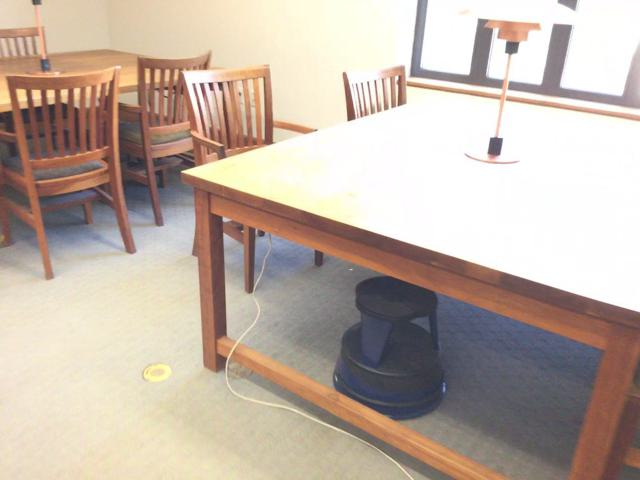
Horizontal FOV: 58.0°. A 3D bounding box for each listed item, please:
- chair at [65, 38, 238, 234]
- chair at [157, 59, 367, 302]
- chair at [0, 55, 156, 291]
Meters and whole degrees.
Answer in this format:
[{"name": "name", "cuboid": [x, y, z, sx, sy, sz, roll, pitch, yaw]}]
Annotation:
[{"name": "chair", "cuboid": [-0.950, -0.640, 3.360, 0.670, 0.960, 0.640, 16, 23, 33]}, {"name": "chair", "cuboid": [-0.270, -0.340, 2.750, 0.630, 0.950, 0.700, 16, 23, 33]}, {"name": "chair", "cuboid": [-1.260, -0.370, 2.750, 0.690, 0.930, 0.590, 16, 23, 33]}]
